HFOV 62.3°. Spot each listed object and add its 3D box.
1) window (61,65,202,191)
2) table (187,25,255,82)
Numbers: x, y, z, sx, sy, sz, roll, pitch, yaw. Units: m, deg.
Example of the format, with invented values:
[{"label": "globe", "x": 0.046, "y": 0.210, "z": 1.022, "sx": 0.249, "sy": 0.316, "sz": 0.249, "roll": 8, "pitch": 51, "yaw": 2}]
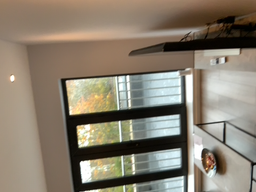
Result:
[{"label": "window", "x": 0.070, "y": 0.990, "z": 3.550, "sx": 0.190, "sy": 2.170, "sz": 2.940, "roll": -136, "pitch": 46, "yaw": -76}, {"label": "table", "x": 1.000, "y": -0.400, "z": 2.040, "sx": 1.010, "sy": 0.440, "sz": 0.400, "roll": -135, "pitch": 41, "yaw": -77}]
